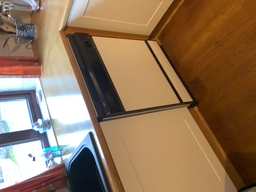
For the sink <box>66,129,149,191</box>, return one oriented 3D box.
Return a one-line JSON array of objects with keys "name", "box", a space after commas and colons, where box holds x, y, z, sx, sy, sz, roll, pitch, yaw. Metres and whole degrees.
[{"name": "sink", "box": [-0.140, 0.480, 1.220, 0.420, 0.220, 0.400, -51, 56, 44]}]
